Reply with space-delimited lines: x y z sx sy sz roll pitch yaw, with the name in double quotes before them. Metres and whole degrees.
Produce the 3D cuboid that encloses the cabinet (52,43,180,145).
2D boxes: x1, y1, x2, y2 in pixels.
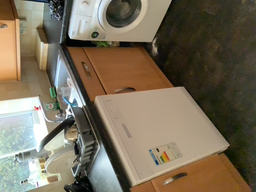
"cabinet" -0.150 -0.060 1.990 0.590 0.910 0.610 59 142 32
